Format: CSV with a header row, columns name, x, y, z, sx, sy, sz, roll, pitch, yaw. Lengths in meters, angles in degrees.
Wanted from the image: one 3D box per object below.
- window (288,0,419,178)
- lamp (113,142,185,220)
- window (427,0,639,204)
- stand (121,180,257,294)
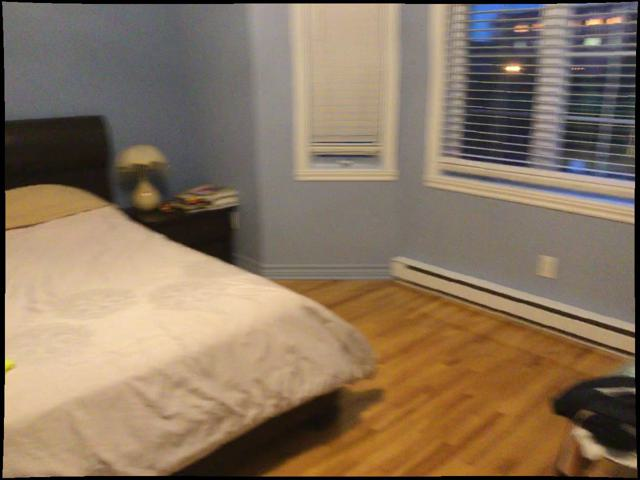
name,x,y,z,sx,sy,sz,roll,pitch,yaw
window,0.190,-1.231,3.270,0.510,1.631,0.520,-18,24,-39
lamp,-1.069,-0.380,3.620,0.280,0.400,0.310,-18,24,-39
window,1.139,-0.921,2.700,0.260,1.331,1.359,-18,24,-39
stand,-0.839,-0.050,3.750,0.640,0.500,0.510,-18,24,-39
